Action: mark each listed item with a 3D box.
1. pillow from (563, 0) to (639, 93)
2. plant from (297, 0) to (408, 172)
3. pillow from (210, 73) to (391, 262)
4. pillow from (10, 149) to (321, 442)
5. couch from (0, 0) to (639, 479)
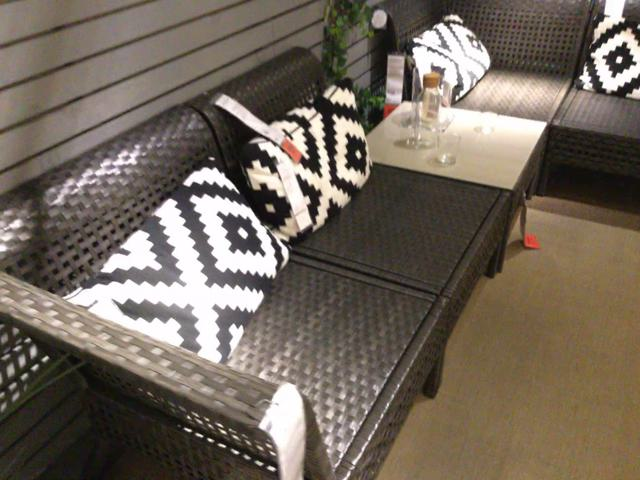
[{"bbox_3d":[1.470,-0.850,2.480,0.700,0.340,0.340,13,37,29],"label":"pillow"},{"bbox_3d":[0.160,-0.770,2.370,0.170,0.800,0.570,12,36,29],"label":"plant"},{"bbox_3d":[-0.020,-0.260,1.820,0.220,0.330,0.650,12,36,29],"label":"pillow"},{"bbox_3d":[-0.290,0.070,1.360,0.310,0.300,0.680,8,35,23],"label":"pillow"},{"bbox_3d":[0.550,-0.220,1.850,1.470,0.860,2.910,12,36,29],"label":"couch"}]
